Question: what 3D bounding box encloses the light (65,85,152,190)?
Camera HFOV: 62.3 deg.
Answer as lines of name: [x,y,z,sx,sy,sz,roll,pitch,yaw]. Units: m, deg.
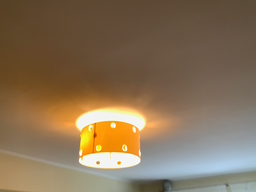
light: [-0.160,0.350,1.900,0.350,0.540,0.800,-9,-93,-71]
